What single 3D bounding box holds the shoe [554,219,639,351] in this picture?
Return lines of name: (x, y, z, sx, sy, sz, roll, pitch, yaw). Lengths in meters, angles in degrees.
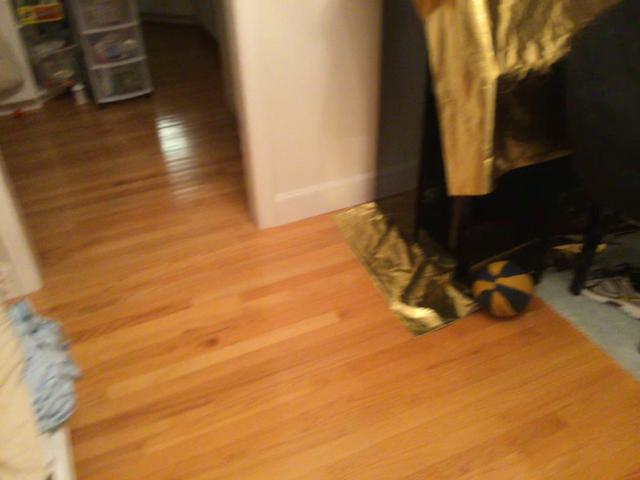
shoe: (1.160, 0.090, 1.880, 0.630, 0.150, 0.380, -18, 36, -16)
